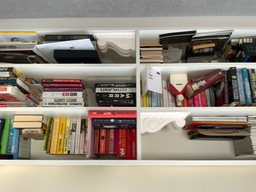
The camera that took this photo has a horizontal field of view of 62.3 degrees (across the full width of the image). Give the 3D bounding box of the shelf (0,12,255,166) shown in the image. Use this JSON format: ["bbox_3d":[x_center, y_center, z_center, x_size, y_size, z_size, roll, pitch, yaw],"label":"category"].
[{"bbox_3d":[0.040,-0.010,1.330,1.880,0.840,0.440,-1,162,2],"label":"shelf"}]
